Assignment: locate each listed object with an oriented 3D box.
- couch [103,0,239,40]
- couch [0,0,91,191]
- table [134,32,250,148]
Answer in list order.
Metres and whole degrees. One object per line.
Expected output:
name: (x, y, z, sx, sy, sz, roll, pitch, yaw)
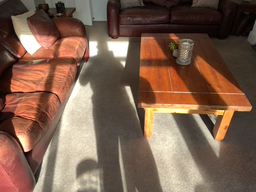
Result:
couch: (0.660, -1.620, 3.760, 2.050, 0.850, 1.070, 1, 37, 3)
couch: (-1.100, -0.280, 2.050, 1.030, 0.840, 2.190, 0, 37, 1)
table: (0.510, -0.180, 2.200, 0.810, 0.470, 1.360, 2, 37, 4)
